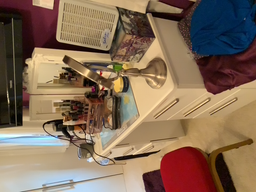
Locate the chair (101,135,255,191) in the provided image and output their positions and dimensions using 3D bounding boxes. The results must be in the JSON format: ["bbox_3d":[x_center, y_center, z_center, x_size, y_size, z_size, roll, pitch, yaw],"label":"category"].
[{"bbox_3d":[0.350,0.610,1.240,0.460,0.830,0.580,-45,51,55],"label":"chair"}]

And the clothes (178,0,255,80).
[{"bbox_3d":[0.360,-0.270,0.840,0.290,0.080,0.310,-48,49,53],"label":"clothes"}]
